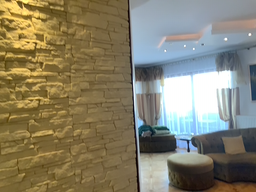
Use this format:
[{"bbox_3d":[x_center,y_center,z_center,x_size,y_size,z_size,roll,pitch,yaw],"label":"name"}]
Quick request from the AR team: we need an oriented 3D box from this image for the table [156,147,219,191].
[{"bbox_3d":[1.070,1.330,3.960,0.800,0.460,0.830,-4,1,-16],"label":"table"}]
